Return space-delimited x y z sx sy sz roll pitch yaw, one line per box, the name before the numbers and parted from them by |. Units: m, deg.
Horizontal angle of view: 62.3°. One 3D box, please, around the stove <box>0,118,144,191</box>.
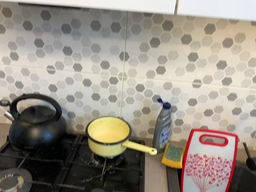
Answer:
stove | -0.250 0.270 0.750 0.610 0.020 0.550 6 27 2
